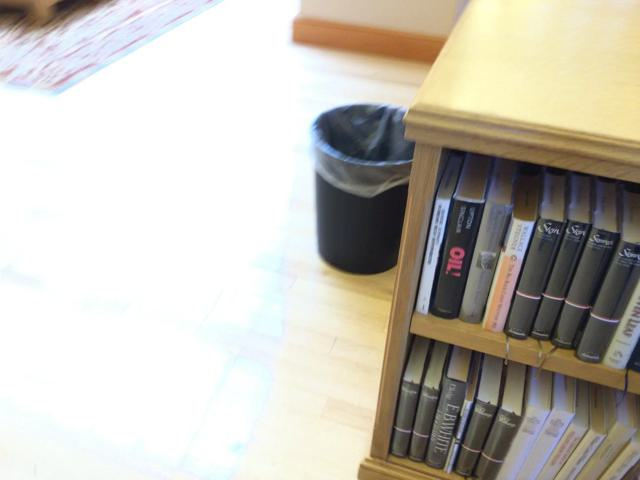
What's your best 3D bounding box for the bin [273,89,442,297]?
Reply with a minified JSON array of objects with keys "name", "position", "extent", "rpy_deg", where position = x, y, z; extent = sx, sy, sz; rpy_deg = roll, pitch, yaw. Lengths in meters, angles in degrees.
[{"name":"bin","position":[0.100,-0.140,1.560],"extent":[0.330,0.360,0.370],"rpy_deg":[15,39,14]}]
